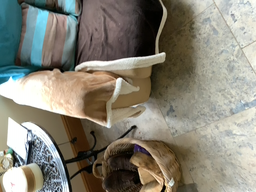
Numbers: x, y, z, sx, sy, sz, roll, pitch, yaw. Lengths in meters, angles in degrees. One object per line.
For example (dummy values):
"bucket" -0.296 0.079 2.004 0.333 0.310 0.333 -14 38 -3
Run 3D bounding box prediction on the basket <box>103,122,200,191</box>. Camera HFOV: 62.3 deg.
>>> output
"basket" 0.140 0.490 1.420 0.450 0.260 0.400 -50 65 30
